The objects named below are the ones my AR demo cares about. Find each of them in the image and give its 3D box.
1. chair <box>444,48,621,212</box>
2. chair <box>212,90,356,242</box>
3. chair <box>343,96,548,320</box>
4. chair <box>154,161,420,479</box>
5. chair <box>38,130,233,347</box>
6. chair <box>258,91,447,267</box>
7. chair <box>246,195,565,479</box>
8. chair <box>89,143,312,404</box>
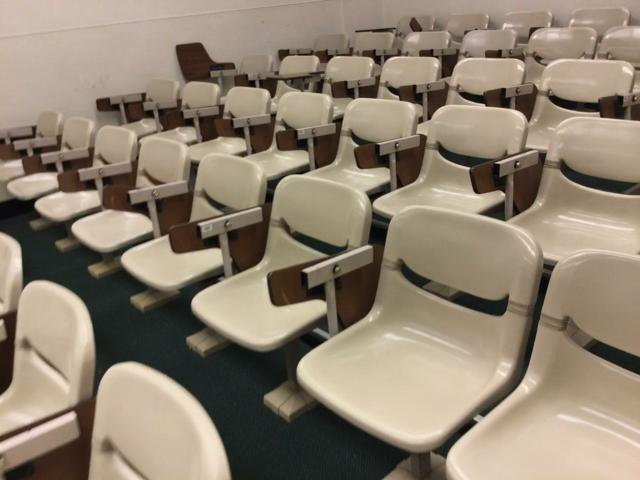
[{"bbox_3d":[1.050,-0.580,2.910,0.620,0.680,0.560,-16,21,-34],"label":"chair"},{"bbox_3d":[-0.190,-0.440,3.190,0.540,0.710,0.510,-16,21,-34],"label":"chair"},{"bbox_3d":[0.530,-0.190,2.490,0.580,0.780,0.590,-16,21,-34],"label":"chair"},{"bbox_3d":[-0.110,0.210,1.980,0.560,0.820,0.680,-16,21,-34],"label":"chair"},{"bbox_3d":[-0.910,-0.070,2.840,0.560,0.820,0.780,-16,21,-34],"label":"chair"},{"bbox_3d":[0.160,-0.350,2.840,0.590,0.690,0.690,-16,21,-34],"label":"chair"},{"bbox_3d":[0.220,0.330,1.590,0.530,0.740,0.610,-16,21,-34],"label":"chair"},{"bbox_3d":[-0.490,0.070,2.390,0.570,0.820,0.670,-16,21,-34],"label":"chair"}]
